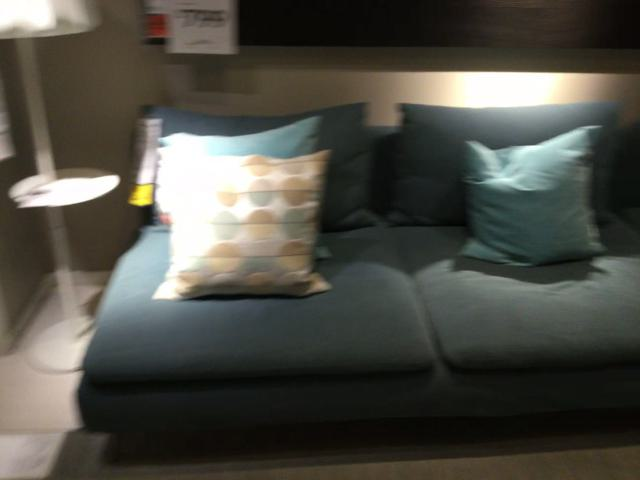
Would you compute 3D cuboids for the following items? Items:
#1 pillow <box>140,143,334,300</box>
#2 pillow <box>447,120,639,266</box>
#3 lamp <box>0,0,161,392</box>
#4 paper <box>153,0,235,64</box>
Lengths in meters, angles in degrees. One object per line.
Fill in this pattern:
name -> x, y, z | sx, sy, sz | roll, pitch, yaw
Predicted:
pillow -> -0.220, -0.060, 1.670 | 0.490, 0.370, 0.280 | 1, 23, -3
pillow -> 0.690, -0.160, 1.860 | 0.440, 0.390, 0.280 | -2, 24, -8
lamp -> -0.830, -0.300, 1.850 | 0.390, 1.410, 0.670 | 1, 23, -3
paper -> -0.410, -0.750, 1.900 | 0.240, 0.310, 0.120 | 1, 23, -3
